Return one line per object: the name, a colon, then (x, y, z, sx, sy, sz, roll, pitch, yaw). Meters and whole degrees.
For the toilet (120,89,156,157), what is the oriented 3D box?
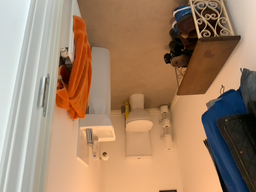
toilet: (0.110, 0.400, 2.970, 0.390, 0.770, 0.670, -3, 156, -1)
